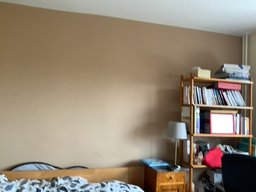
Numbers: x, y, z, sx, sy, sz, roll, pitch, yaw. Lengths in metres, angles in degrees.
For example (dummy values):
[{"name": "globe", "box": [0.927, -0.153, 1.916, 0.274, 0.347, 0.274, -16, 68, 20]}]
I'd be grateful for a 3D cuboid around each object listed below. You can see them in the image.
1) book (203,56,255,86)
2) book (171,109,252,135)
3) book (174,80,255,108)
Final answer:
[{"name": "book", "box": [1.270, -0.300, 2.670, 0.450, 0.280, 0.420, 4, -3, -13]}, {"name": "book", "box": [1.010, 0.310, 2.620, 0.800, 0.250, 0.450, 4, -3, -14]}, {"name": "book", "box": [1.080, -0.010, 2.650, 0.890, 0.260, 0.380, 4, -3, -14]}]
